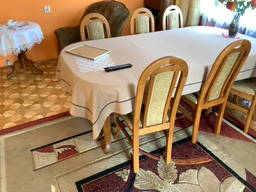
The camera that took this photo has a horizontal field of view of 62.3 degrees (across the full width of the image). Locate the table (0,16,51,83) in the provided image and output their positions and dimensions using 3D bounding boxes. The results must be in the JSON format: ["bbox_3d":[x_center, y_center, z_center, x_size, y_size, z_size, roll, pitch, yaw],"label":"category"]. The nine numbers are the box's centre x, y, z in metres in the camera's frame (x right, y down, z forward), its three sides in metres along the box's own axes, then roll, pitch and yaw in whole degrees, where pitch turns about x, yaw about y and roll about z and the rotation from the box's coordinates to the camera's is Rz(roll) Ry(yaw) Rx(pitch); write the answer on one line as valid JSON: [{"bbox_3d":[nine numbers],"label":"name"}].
[{"bbox_3d":[-1.530,-0.690,3.040,0.600,0.700,0.610,-15,36,-24],"label":"table"}]

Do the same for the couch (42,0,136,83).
[{"bbox_3d":[-0.570,-0.930,3.240,0.980,0.920,0.930,-22,40,-32],"label":"couch"}]

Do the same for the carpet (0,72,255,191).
[{"bbox_3d":[0.410,0.780,1.400,2.470,0.040,3.390,-15,36,-24],"label":"carpet"}]
